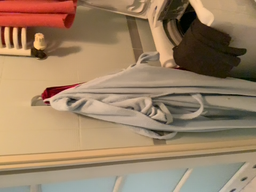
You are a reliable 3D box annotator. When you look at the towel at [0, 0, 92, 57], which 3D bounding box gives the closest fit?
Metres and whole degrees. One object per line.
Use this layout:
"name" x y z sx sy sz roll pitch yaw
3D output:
"towel" -0.490 -0.430 1.070 0.200 0.560 0.380 117 148 -54
